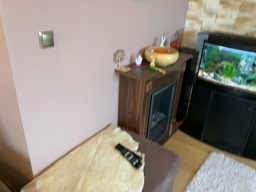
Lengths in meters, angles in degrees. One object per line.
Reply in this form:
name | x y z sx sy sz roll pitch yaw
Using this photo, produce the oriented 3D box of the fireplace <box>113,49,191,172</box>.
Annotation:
fireplace | 0.250 0.090 2.140 0.280 0.930 0.900 20 31 30
